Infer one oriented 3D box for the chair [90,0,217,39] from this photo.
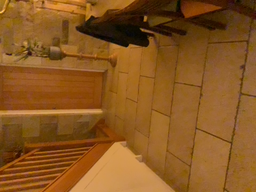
[{"bbox_3d":[0.240,-0.900,1.820,0.430,1.000,0.630,22,108,62],"label":"chair"}]
